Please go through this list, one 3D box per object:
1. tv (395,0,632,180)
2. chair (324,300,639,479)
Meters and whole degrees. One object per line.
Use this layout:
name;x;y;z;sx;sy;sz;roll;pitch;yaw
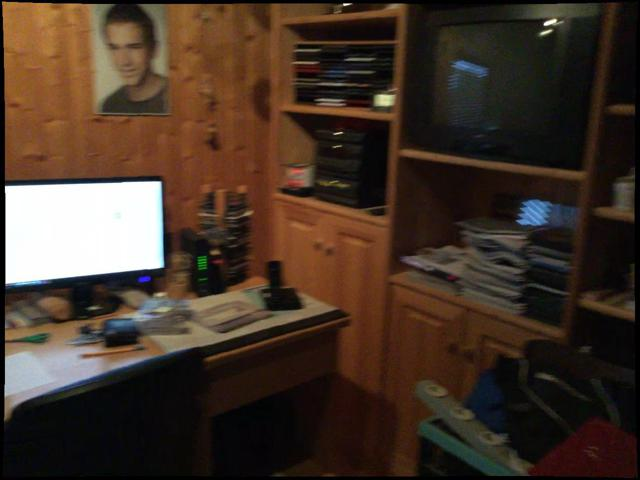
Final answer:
tv;0.549;-0.460;1.750;0.630;0.440;0.200;15;30;42
chair;0.519;0.741;1.610;0.690;0.791;0.650;-23;27;-37
